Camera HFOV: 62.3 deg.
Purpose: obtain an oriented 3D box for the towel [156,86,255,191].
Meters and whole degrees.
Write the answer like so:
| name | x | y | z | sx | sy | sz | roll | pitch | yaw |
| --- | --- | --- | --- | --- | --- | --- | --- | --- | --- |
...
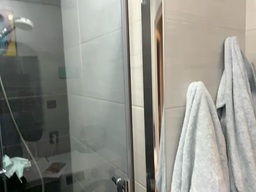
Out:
| name | x | y | z | sx | sy | sz | roll | pitch | yaw |
| --- | --- | --- | --- | --- | --- | --- | --- | --- | --- |
| towel | 0.290 | 0.480 | 0.770 | 0.330 | 1.010 | 0.160 | -6 | 8 | -33 |
